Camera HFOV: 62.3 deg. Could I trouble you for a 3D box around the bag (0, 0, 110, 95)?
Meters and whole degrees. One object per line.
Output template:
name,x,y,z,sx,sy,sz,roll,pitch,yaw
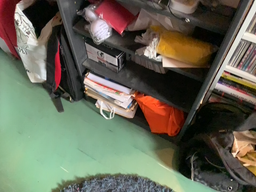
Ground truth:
bag,-0.380,-0.360,1.200,0.300,0.420,0.490,28,61,17

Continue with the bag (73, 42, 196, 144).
bag,0.020,-0.020,1.070,0.530,0.260,0.200,27,61,16
